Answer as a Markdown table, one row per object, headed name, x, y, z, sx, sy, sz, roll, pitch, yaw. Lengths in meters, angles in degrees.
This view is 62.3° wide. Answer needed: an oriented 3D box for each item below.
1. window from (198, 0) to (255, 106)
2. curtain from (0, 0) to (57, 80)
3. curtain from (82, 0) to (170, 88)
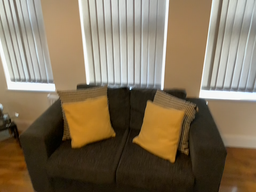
| name | x | y | z | sx | sy | sz | roll | pitch | yaw |
| --- | --- | --- | --- | --- | --- | --- | --- | --- | --- |
| window | 1.070 | -0.680 | 1.980 | 0.590 | 1.660 | 0.040 | 4 | 24 | 9 |
| curtain | -1.150 | -0.850 | 2.270 | 0.590 | 1.370 | 0.110 | 4 | 24 | 9 |
| curtain | -0.030 | -0.790 | 2.100 | 0.860 | 1.450 | 0.030 | 4 | 24 | 9 |
